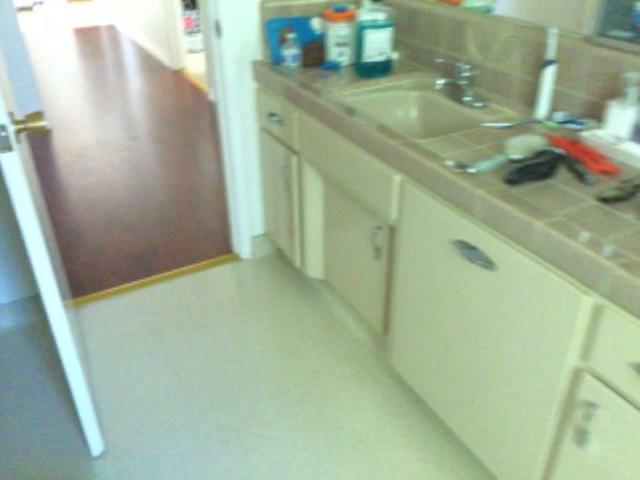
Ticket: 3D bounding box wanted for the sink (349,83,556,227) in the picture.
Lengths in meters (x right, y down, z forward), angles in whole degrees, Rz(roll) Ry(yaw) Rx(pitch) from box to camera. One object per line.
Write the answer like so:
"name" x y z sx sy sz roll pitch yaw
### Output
"sink" 0.340 -0.260 1.610 0.330 0.190 0.460 -15 35 -23
